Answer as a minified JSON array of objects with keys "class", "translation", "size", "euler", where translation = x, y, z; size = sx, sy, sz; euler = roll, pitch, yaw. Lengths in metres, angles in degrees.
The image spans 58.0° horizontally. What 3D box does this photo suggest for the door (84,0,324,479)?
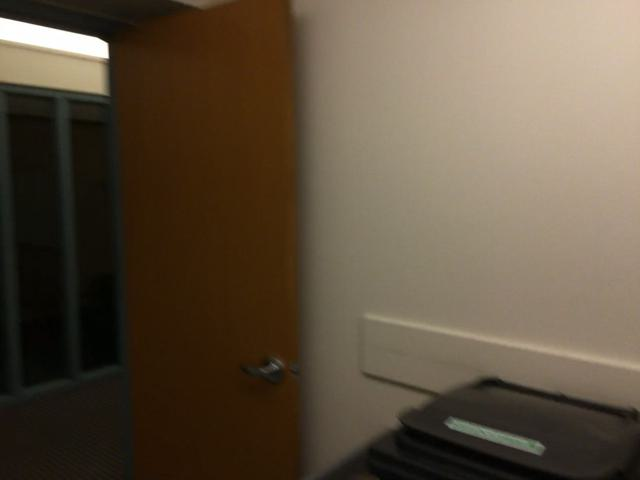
[{"class":"door","translation":[-0.500,0.240,2.130],"size":[1.090,2.070,0.180],"euler":[5,5,40]}]
